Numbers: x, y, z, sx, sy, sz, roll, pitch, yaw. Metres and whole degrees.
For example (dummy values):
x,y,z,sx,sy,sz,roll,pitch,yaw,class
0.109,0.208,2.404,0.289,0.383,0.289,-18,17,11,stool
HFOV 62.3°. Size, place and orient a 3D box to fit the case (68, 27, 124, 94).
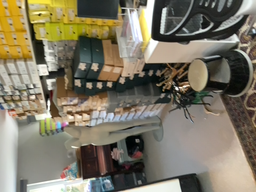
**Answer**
x,y,z,sx,sy,sz,roll,pitch,yaw,class
-0.410,-0.380,2.440,0.640,0.500,0.450,123,139,-60,case
